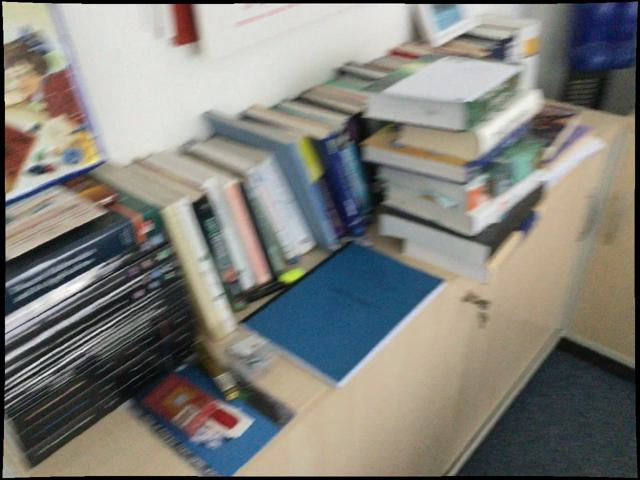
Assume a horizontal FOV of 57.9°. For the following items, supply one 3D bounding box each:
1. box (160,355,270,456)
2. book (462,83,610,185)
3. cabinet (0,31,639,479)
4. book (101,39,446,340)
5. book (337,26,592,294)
[{"bbox_3d":[-0.150,0.230,0.820,0.140,0.030,0.080,27,46,33],"label":"box"},{"bbox_3d":[0.509,-0.260,1.360,0.210,0.080,0.300,26,46,33],"label":"book"},{"bbox_3d":[0.180,0.230,1.430,0.450,0.961,1.640,26,46,33],"label":"cabinet"},{"bbox_3d":[-0.040,-0.140,1.110,0.230,0.270,0.640,26,46,33],"label":"book"},{"bbox_3d":[0.260,-0.170,1.100,0.310,0.330,0.320,26,46,33],"label":"book"}]
